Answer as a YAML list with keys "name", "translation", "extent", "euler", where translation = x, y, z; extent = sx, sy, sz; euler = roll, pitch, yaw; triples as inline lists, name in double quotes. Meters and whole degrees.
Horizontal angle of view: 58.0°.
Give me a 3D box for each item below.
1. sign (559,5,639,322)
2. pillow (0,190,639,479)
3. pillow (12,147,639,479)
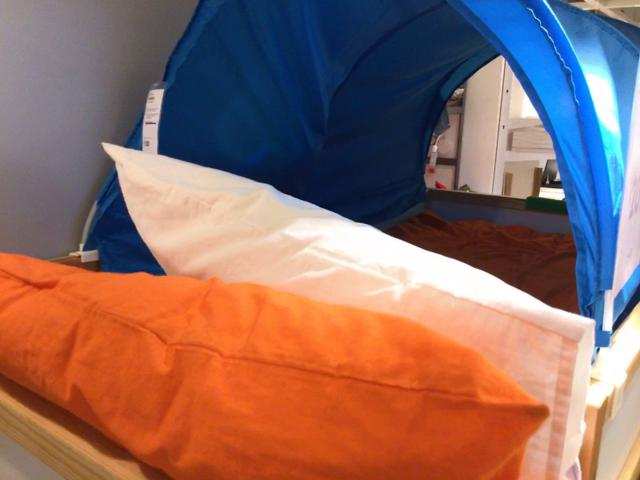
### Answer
- name: "sign"
  translation: [0.370, -0.090, 0.710]
  extent: [0.050, 0.330, 0.230]
  euler: [10, 13, 36]
- name: "pillow"
  translation: [-0.090, 0.190, 0.650]
  extent: [0.750, 0.400, 0.400]
  euler: [10, 13, 36]
- name: "pillow"
  translation: [-0.030, 0.080, 0.750]
  extent: [0.740, 0.360, 0.350]
  euler: [10, 13, 36]
